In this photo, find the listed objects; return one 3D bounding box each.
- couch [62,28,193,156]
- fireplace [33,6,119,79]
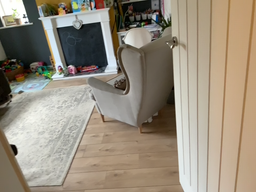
[{"bbox_3d":[0.030,-0.160,2.300,1.030,0.960,0.820,16,34,41],"label":"couch"},{"bbox_3d":[-0.940,-1.020,4.120,1.320,1.180,0.440,-4,26,7],"label":"fireplace"}]
